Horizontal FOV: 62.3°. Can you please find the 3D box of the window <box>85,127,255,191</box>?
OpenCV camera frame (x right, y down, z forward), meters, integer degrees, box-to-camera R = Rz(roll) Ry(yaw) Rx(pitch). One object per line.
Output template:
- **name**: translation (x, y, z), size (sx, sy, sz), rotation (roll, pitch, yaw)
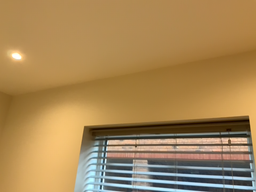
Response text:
- **window**: translation (0.150, 0.910, 1.180), size (1.100, 1.450, 0.050), rotation (-7, -24, 30)
